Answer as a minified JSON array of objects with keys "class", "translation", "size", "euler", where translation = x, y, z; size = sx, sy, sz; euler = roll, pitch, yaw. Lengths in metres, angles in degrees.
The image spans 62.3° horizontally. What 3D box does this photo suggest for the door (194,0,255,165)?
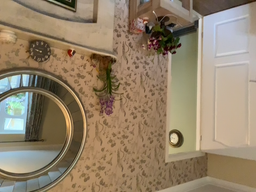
[{"class":"door","translation":[1.290,-0.270,2.830],"size":[0.790,2.170,0.060],"euler":[-1,175,42]}]
